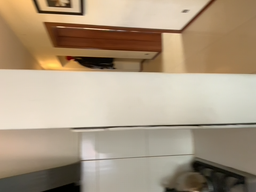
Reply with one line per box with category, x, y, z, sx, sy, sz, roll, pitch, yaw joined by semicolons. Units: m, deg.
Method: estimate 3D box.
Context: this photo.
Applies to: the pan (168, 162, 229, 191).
pan;0.370;0.500;1.160;0.270;0.210;0.200;155;115;-77
